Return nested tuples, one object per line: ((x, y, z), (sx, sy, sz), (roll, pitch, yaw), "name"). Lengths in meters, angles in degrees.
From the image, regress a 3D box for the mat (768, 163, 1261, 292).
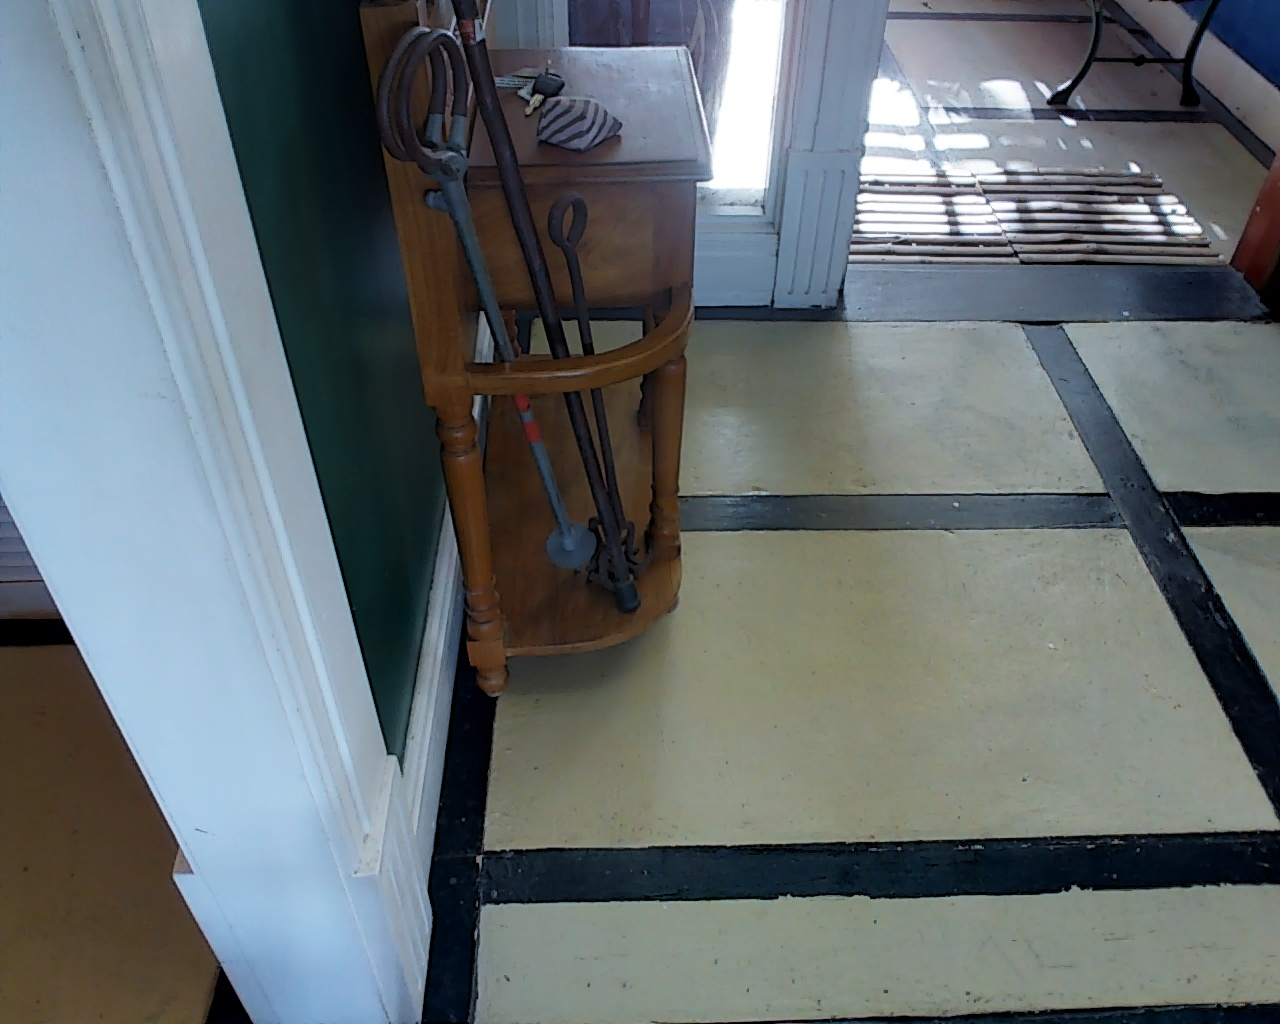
((0.910, -0.740, 2.750), (1.100, 0.060, 0.570), (0, 42, -2), "mat")
